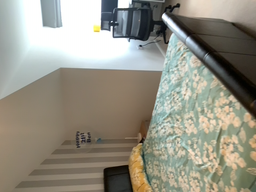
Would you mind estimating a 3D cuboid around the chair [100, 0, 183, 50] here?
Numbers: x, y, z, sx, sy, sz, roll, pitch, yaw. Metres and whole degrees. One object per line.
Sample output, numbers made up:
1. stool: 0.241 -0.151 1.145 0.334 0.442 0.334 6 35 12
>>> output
1. chair: 0.150 -1.190 3.360 0.640 1.120 0.630 -105 19 -55
